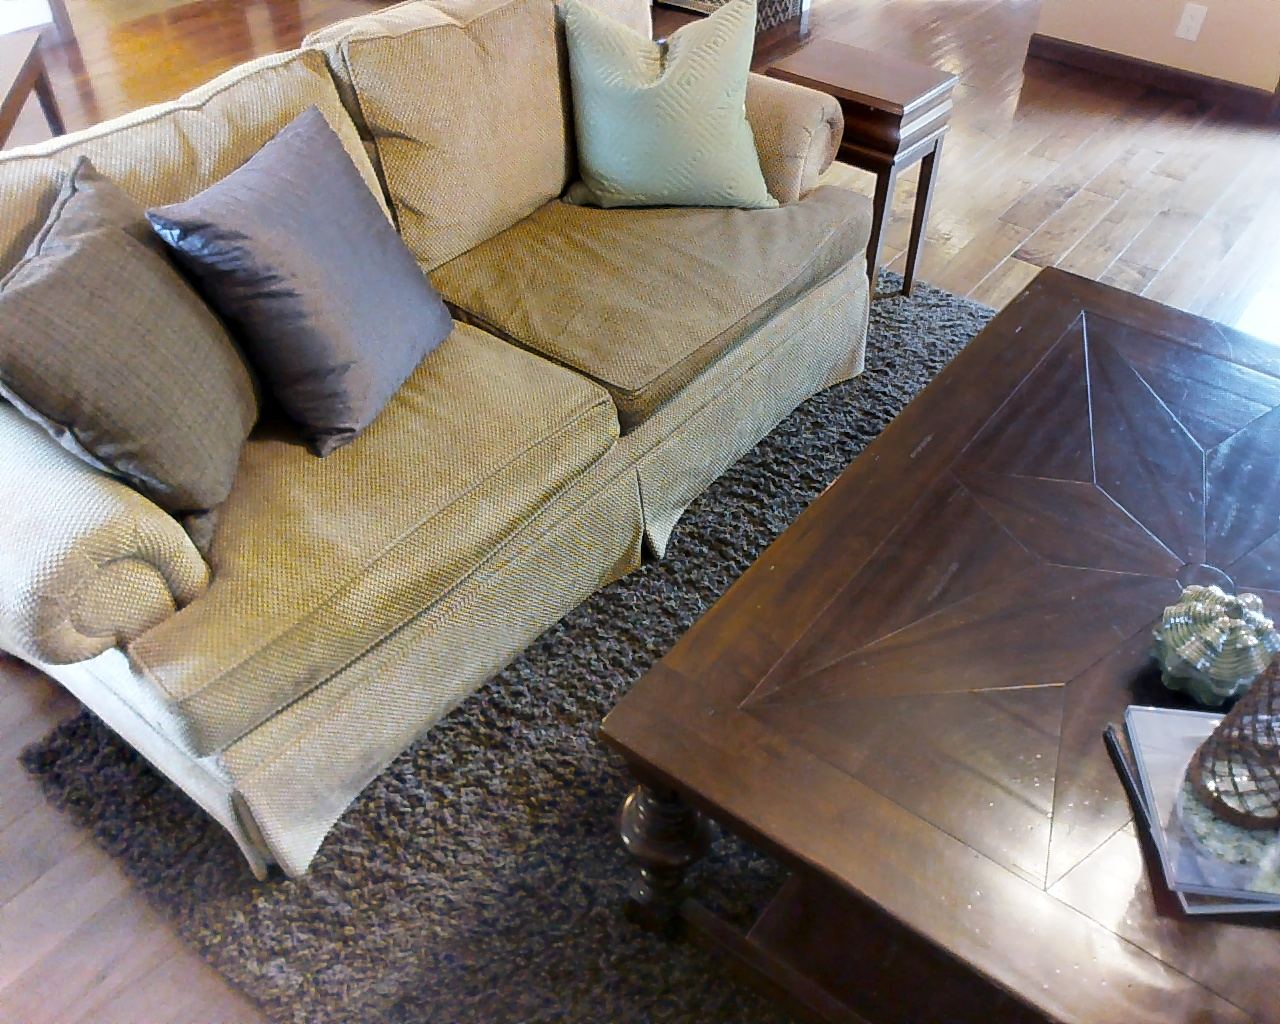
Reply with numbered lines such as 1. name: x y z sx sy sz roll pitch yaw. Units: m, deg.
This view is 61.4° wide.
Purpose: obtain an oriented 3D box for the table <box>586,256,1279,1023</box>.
1. table: 0.790 0.280 1.660 1.050 0.510 1.440 28 49 27

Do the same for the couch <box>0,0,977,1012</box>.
1. couch: -0.400 -0.400 2.100 1.080 0.930 2.100 29 49 27

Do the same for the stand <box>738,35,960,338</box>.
1. stand: 0.520 -0.840 2.790 0.380 0.600 0.310 31 50 29
